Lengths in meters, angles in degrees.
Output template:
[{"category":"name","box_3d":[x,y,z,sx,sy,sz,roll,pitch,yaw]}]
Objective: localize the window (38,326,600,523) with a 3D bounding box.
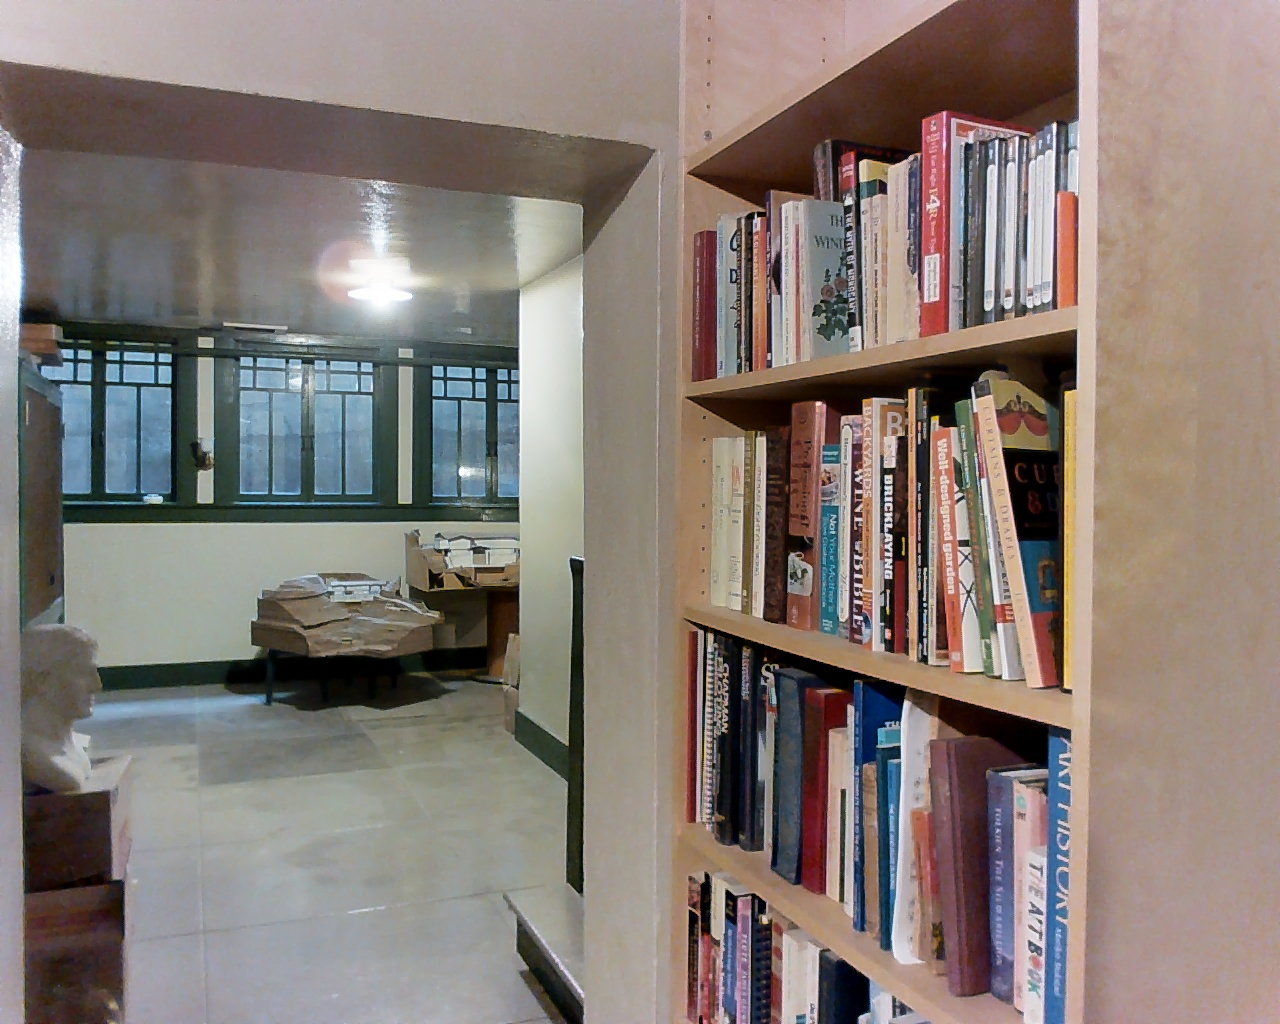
[{"category":"window","box_3d":[-2.420,-0.650,8.830,4.399,1.450,0.150,0,1,-22]}]

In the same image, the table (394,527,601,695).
[{"category":"table","box_3d":[-1.170,0.730,8.620,1.380,1.160,1.200,0,1,-22]}]
